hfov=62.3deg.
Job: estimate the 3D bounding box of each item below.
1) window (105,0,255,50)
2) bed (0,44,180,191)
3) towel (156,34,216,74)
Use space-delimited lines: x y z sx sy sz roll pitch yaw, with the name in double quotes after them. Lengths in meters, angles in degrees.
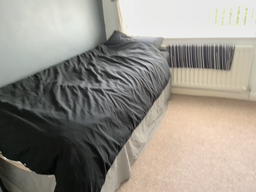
0.650 -1.250 2.320 1.950 1.350 0.370 9 28 26 "window"
-0.270 0.080 1.970 1.030 0.640 2.090 8 28 24 "bed"
0.690 -0.520 2.570 0.640 0.400 0.230 8 28 24 "towel"
